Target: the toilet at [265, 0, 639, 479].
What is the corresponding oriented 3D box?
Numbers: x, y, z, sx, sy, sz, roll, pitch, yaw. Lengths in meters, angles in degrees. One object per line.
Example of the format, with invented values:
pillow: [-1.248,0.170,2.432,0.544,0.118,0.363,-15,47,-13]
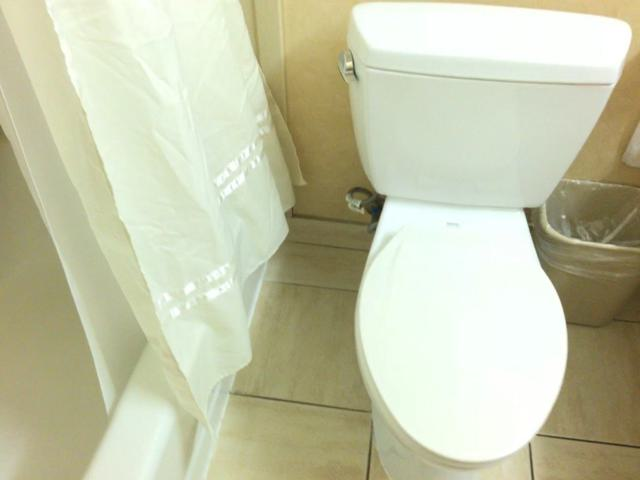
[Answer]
toilet: [0.250,0.060,1.100,0.510,0.740,0.750,6,47,6]
